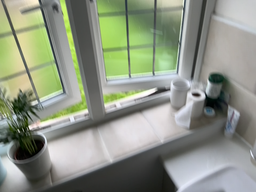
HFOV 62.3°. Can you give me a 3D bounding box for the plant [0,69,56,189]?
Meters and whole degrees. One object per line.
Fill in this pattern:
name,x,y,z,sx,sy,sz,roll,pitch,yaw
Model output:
plant,-0.360,0.110,0.680,0.150,0.320,0.170,-17,39,-18
